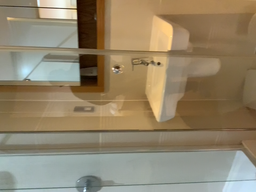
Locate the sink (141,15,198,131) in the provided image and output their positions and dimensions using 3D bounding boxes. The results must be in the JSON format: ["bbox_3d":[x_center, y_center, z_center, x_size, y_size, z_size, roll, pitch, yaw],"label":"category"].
[{"bbox_3d":[0.230,-0.170,1.410,0.490,0.150,0.630,-104,16,-62],"label":"sink"}]
